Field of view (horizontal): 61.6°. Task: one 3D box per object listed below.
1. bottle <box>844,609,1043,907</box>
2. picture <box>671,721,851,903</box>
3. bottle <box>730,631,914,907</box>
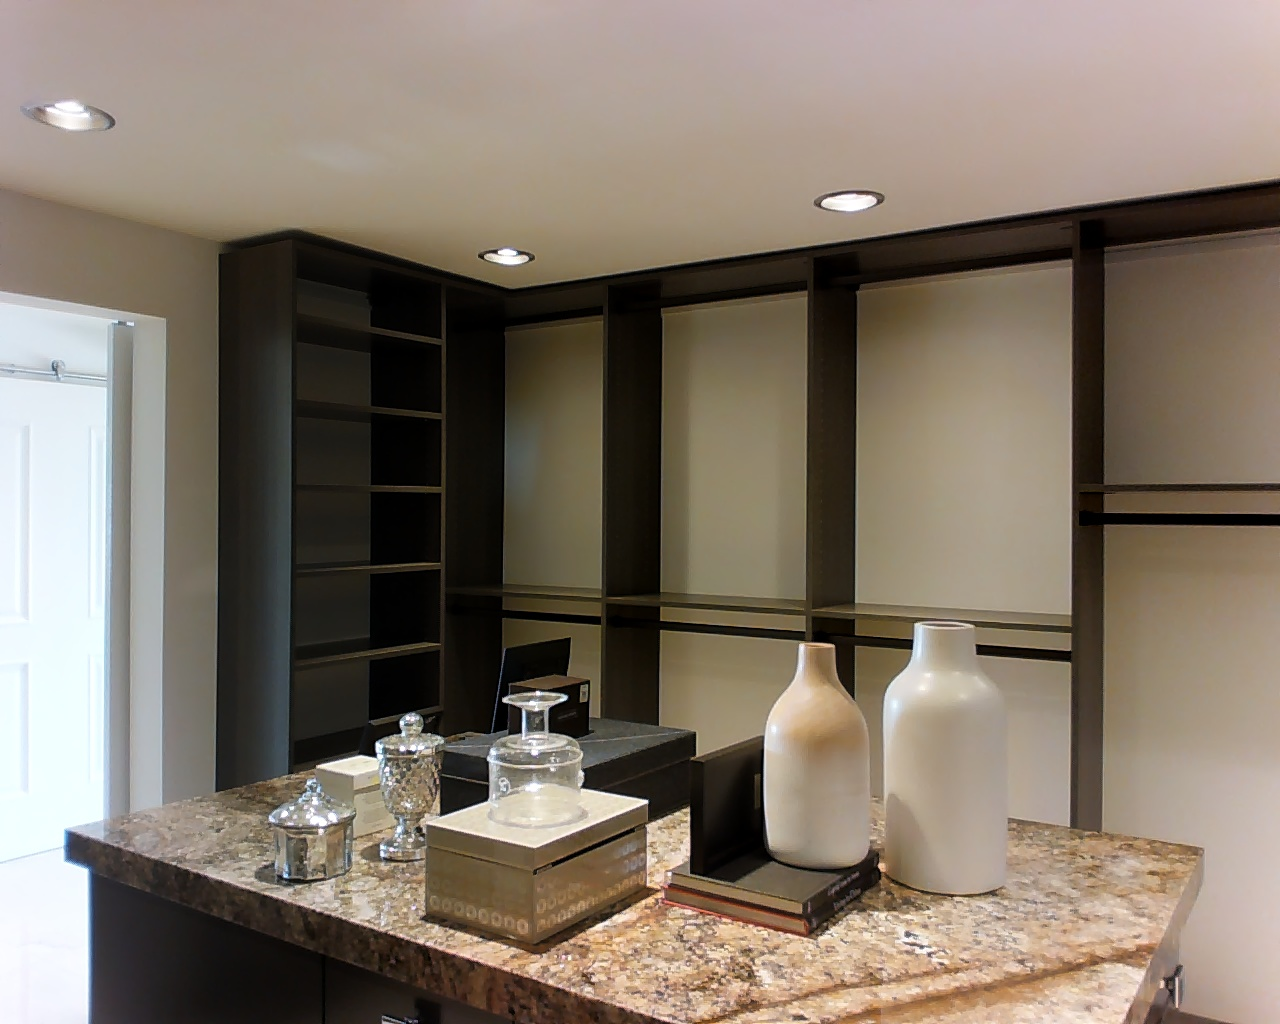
[{"bbox_3d":[0.460,0.350,1.620,0.220,0.380,0.220,0,0,38],"label":"bottle"},{"bbox_3d":[0.180,0.420,1.550,0.160,0.180,0.260,0,0,32],"label":"picture"},{"bbox_3d":[0.270,0.360,1.580,0.200,0.340,0.200,0,0,34],"label":"bottle"}]
